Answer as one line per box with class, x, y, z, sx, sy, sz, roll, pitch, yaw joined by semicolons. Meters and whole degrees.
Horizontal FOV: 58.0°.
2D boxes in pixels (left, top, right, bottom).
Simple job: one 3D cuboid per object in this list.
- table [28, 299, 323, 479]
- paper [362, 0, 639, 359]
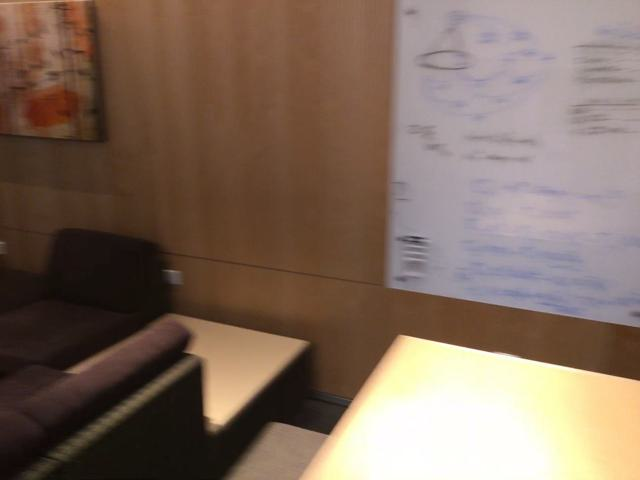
table;-0.520;0.600;2.350;0.820;0.320;0.850;10;15;16
paper;0.740;-0.340;2.060;0.990;1.290;0.080;16;15;23
